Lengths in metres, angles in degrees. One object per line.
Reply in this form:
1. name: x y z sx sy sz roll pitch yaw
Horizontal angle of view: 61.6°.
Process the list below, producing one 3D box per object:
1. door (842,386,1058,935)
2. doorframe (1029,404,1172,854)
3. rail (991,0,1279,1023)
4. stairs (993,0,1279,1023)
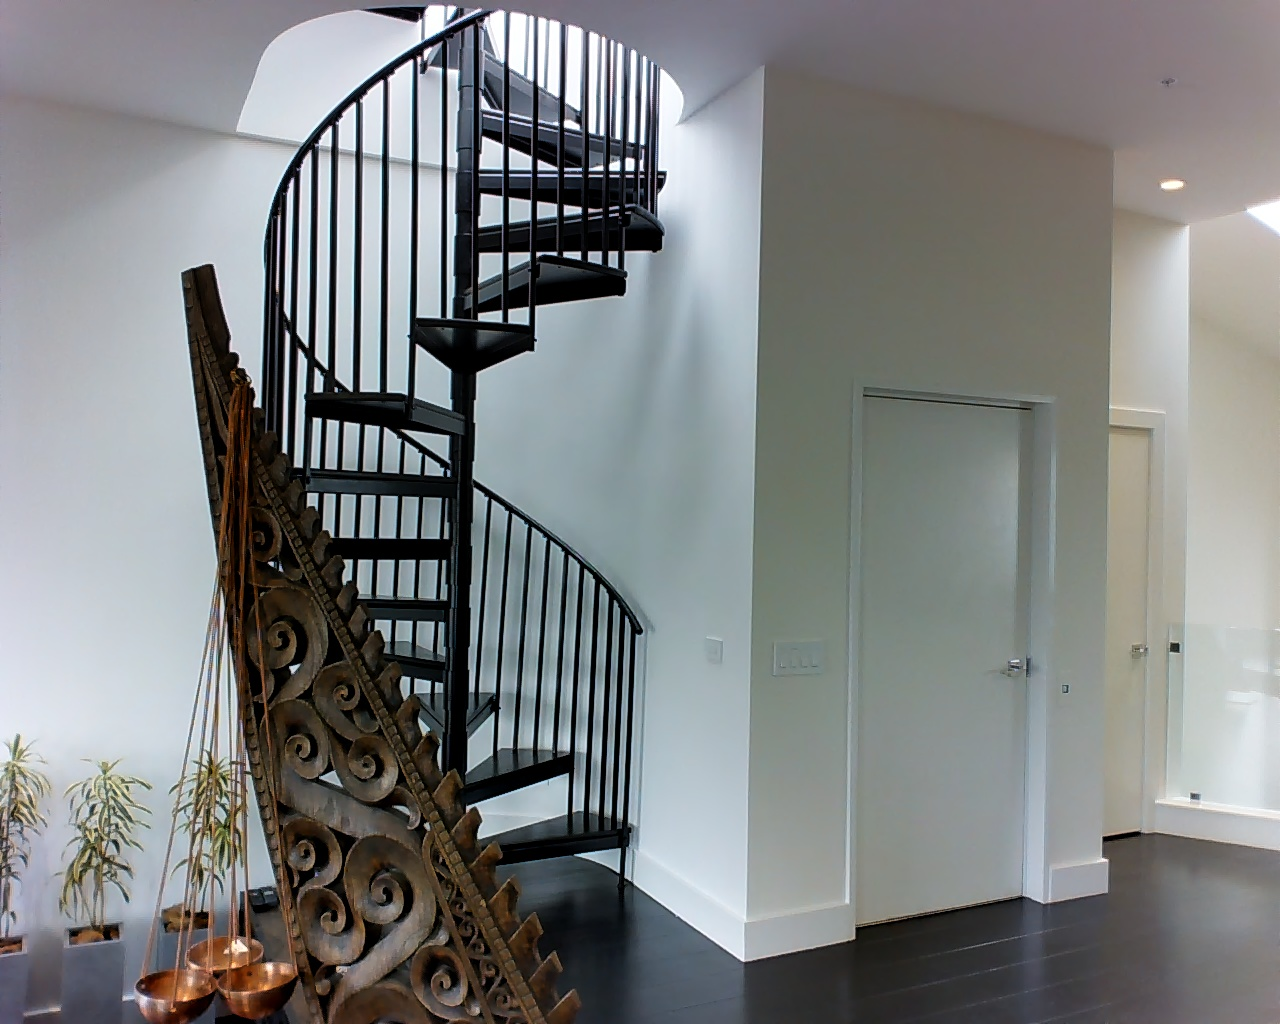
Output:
1. door: 1.240 0.560 4.240 0.960 2.040 0.100 1 -1 -25
2. doorframe: 2.290 0.560 5.310 0.870 2.130 0.070 1 -1 -26
3. rail: 2.350 -0.340 3.630 1.620 4.150 1.720 1 0 -4
4. stairs: 2.340 -0.280 3.630 1.590 4.140 1.700 1 0 -4
